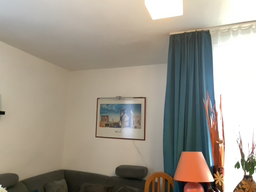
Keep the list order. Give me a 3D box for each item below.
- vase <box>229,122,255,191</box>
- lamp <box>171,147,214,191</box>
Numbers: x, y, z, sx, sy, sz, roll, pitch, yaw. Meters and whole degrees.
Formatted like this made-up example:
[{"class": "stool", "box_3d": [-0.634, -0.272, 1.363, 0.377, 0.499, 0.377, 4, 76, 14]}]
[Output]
[{"class": "vase", "box_3d": [0.950, 0.600, 1.650, 0.270, 0.780, 0.140, -2, -9, 27]}, {"class": "lamp", "box_3d": [0.530, 0.700, 1.730, 0.300, 0.520, 0.250, -1, -9, 24]}]
